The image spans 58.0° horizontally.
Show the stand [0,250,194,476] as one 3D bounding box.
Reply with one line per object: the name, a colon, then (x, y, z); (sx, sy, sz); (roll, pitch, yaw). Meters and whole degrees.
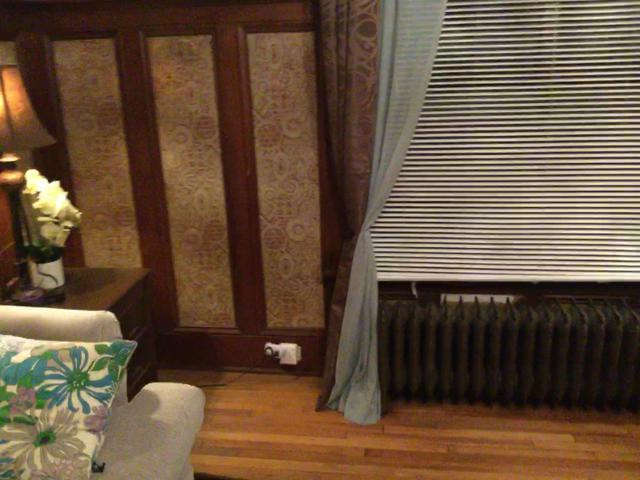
stand: (-0.930, 0.450, 2.350); (0.530, 0.640, 0.710); (-2, 13, 9)
